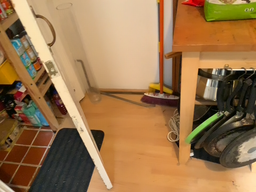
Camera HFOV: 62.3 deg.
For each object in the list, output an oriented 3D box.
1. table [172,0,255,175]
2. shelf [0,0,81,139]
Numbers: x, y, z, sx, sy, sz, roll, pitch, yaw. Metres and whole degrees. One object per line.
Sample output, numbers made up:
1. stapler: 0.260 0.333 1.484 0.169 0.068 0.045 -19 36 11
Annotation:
1. table: 0.510 -0.100 1.170 0.500 0.850 0.660 2 45 13
2. shelf: -1.040 -0.440 1.410 0.880 1.700 0.440 4 46 16
